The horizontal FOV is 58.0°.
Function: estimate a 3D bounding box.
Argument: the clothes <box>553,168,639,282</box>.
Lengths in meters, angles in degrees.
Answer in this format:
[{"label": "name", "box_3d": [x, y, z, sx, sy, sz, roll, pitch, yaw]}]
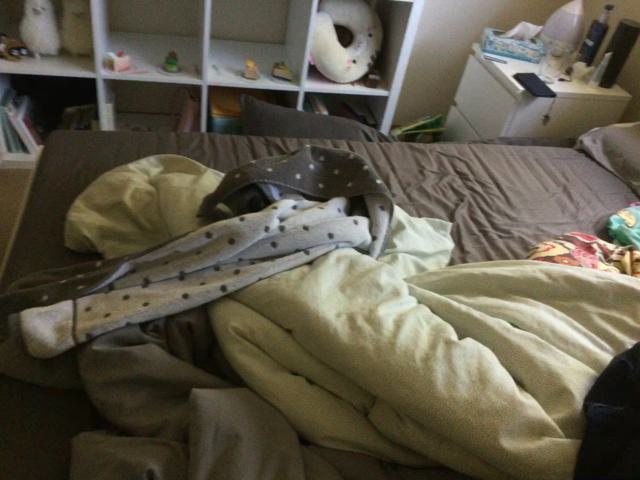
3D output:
[{"label": "clothes", "box_3d": [0.870, -0.050, 1.490, 0.380, 0.080, 0.360, -1, 40, -14]}]

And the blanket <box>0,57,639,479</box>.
[{"label": "blanket", "box_3d": [0.160, 0.120, 0.970, 1.270, 0.310, 1.190, -1, 40, -14]}]

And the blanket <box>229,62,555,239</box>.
[{"label": "blanket", "box_3d": [0.220, -0.320, 2.130, 1.060, 0.430, 0.360, 4, 39, -8]}]

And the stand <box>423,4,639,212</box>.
[{"label": "stand", "box_3d": [0.850, -0.520, 2.330, 0.580, 0.630, 0.520, -1, 40, -14]}]
